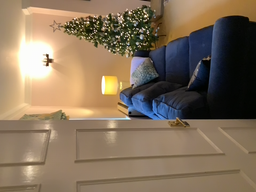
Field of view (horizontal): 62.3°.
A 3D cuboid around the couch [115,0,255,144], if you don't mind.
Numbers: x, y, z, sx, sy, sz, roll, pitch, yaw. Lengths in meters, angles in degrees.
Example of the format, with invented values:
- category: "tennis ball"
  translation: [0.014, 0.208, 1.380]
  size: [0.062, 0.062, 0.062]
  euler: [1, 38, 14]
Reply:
- category: "couch"
  translation: [0.520, -0.270, 2.500]
  size: [2.220, 0.840, 1.000]
  euler: [-162, 75, -73]
